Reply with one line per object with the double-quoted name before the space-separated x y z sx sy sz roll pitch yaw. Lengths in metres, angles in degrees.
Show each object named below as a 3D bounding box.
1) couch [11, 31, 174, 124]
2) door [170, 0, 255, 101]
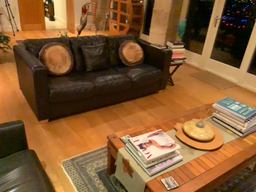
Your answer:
"couch" -0.420 -0.390 2.920 1.890 0.730 0.870 -13 34 -32
"door" 1.890 -1.370 3.680 0.150 2.440 2.560 -13 34 -32
